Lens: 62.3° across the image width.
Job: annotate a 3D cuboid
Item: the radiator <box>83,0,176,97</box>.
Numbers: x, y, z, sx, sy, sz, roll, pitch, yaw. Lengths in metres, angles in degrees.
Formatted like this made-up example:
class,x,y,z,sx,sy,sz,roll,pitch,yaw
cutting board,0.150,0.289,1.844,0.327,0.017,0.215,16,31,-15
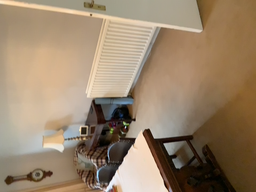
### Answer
class,x,y,z,sx,sy,sz,roll,pitch,yaw
radiator,-0.060,-0.600,2.990,0.160,0.860,1.580,65,145,39
